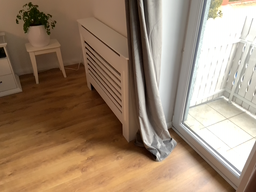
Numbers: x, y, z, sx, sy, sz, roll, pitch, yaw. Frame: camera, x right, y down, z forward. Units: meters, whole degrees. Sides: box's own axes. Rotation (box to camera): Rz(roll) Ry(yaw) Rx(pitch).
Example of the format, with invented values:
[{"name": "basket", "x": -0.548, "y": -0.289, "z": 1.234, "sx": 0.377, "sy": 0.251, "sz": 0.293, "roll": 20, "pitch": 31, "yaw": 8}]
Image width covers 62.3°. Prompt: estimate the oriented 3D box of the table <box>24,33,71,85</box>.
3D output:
[{"name": "table", "x": -1.060, "y": -0.500, "z": 2.810, "sx": 0.430, "sy": 0.500, "sz": 0.370, "roll": -17, "pitch": 38, "yaw": -24}]
